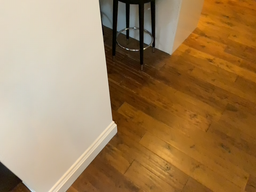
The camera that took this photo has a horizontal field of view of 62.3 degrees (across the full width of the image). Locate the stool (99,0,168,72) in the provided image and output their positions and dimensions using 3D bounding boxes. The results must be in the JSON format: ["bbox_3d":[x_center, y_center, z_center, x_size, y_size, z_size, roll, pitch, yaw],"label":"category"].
[{"bbox_3d":[0.050,-0.650,1.810,0.390,0.700,0.400,30,57,22],"label":"stool"}]
